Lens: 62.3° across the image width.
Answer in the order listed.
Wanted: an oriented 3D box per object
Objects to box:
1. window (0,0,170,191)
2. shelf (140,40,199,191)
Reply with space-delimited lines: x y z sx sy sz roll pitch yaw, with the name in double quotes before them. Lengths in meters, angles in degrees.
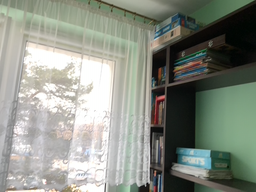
"window" -0.530 -0.130 1.270 1.800 1.390 0.170 9 -10 -29
"shelf" 0.320 0.240 1.640 0.270 1.240 0.310 9 -10 -27
